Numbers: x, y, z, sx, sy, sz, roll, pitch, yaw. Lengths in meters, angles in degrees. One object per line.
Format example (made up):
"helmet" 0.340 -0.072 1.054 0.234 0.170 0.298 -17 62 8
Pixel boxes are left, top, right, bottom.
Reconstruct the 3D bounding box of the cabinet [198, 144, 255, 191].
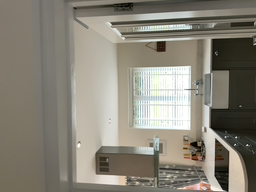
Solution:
"cabinet" 1.570 1.120 2.780 2.030 0.890 0.420 -12 -78 -82
